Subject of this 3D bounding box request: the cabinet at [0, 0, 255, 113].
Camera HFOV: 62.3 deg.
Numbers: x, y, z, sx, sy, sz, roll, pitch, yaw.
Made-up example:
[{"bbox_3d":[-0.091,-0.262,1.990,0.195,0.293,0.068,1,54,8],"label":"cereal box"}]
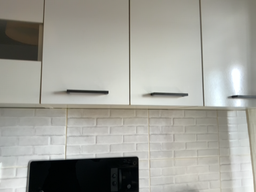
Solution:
[{"bbox_3d":[-0.210,-0.250,0.870,1.770,0.600,0.300,2,-7,-15],"label":"cabinet"}]
